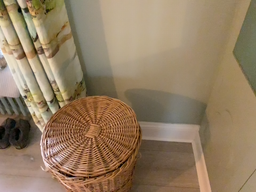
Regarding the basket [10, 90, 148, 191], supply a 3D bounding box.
[{"bbox_3d":[-0.150,0.330,1.060,0.470,0.560,0.420,2,43,4],"label":"basket"}]
